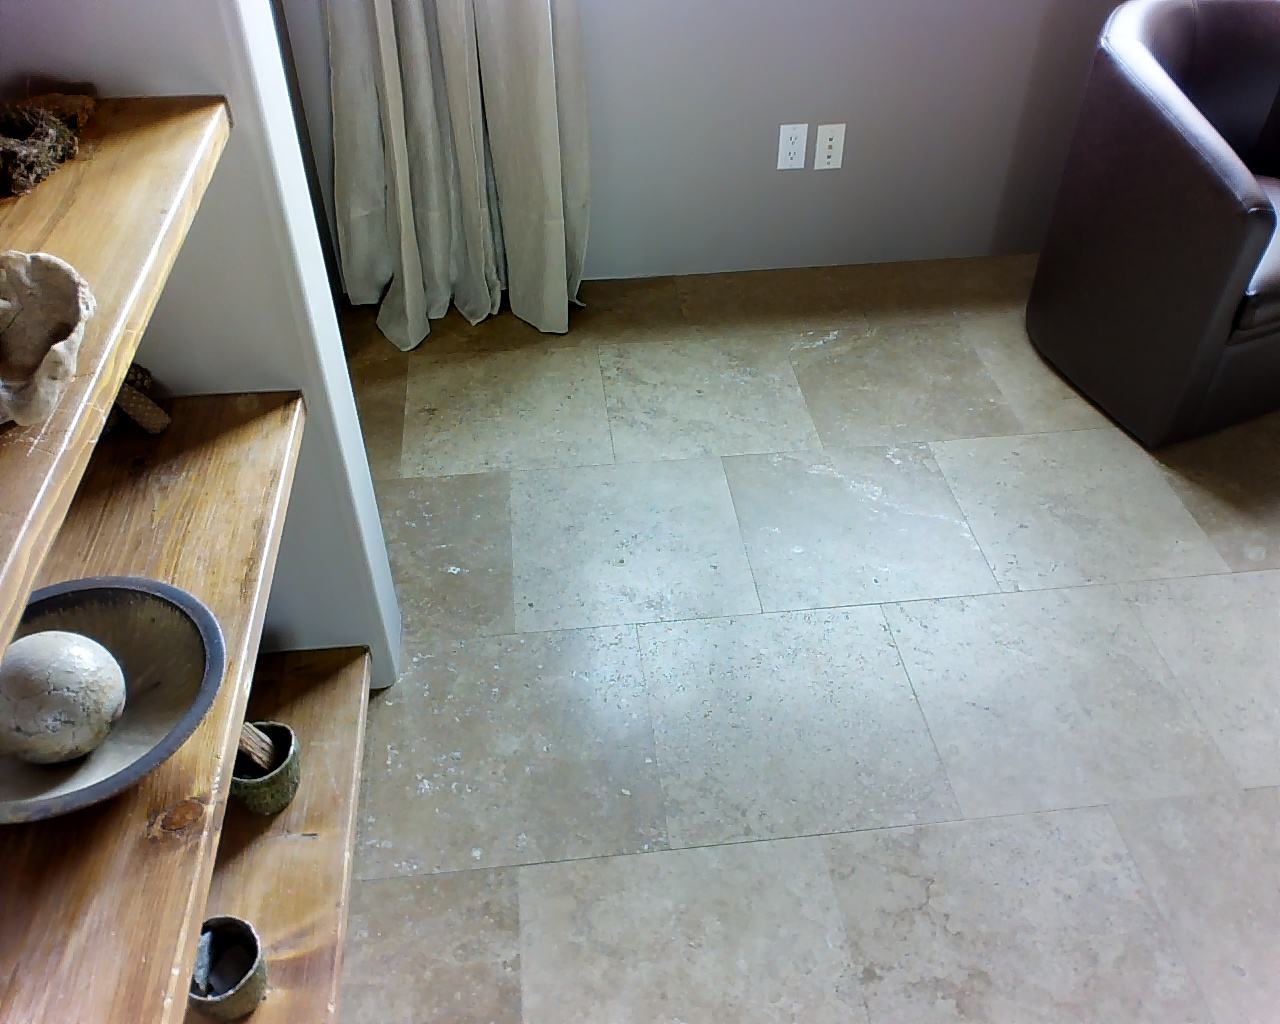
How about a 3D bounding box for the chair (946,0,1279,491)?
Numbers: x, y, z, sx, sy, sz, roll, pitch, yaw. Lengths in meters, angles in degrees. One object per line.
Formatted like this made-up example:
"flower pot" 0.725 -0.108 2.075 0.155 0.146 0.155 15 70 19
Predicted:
"chair" 1.290 -0.670 2.340 0.790 0.790 0.720 -18 45 -19
